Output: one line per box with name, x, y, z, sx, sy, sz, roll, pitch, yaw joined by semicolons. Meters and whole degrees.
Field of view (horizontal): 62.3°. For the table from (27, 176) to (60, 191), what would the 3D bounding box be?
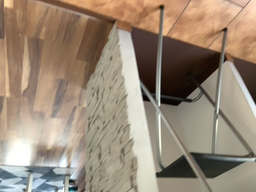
table;-1.400;1.640;3.400;0.420;0.470;0.780;10;141;-23
